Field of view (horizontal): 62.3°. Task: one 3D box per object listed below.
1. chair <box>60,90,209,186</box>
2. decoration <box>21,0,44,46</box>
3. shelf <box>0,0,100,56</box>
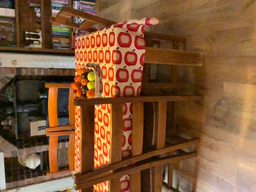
[{"bbox_3d":[0.050,0.220,1.560,0.450,0.980,0.450,19,108,59],"label":"chair"},{"bbox_3d":[-1.440,-1.220,3.190,0.200,0.290,0.880,25,113,57],"label":"decoration"},{"bbox_3d":[-1.450,-1.190,3.150,0.290,2.050,1.040,19,108,59],"label":"shelf"}]
